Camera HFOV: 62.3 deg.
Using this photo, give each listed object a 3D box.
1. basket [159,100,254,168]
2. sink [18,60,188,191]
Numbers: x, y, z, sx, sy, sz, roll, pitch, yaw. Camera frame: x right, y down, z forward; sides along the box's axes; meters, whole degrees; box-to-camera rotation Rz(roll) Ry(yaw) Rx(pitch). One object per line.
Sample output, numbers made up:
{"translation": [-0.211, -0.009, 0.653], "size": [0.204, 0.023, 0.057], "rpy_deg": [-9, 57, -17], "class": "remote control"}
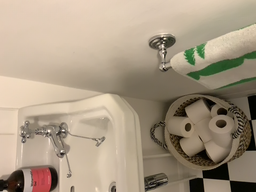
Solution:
{"translation": [0.390, 0.200, 1.100], "size": [0.370, 0.230, 0.280], "rpy_deg": [-14, 74, 44], "class": "basket"}
{"translation": [-0.090, 0.270, 0.610], "size": [0.420, 0.290, 0.590], "rpy_deg": [-14, 73, 44], "class": "sink"}
